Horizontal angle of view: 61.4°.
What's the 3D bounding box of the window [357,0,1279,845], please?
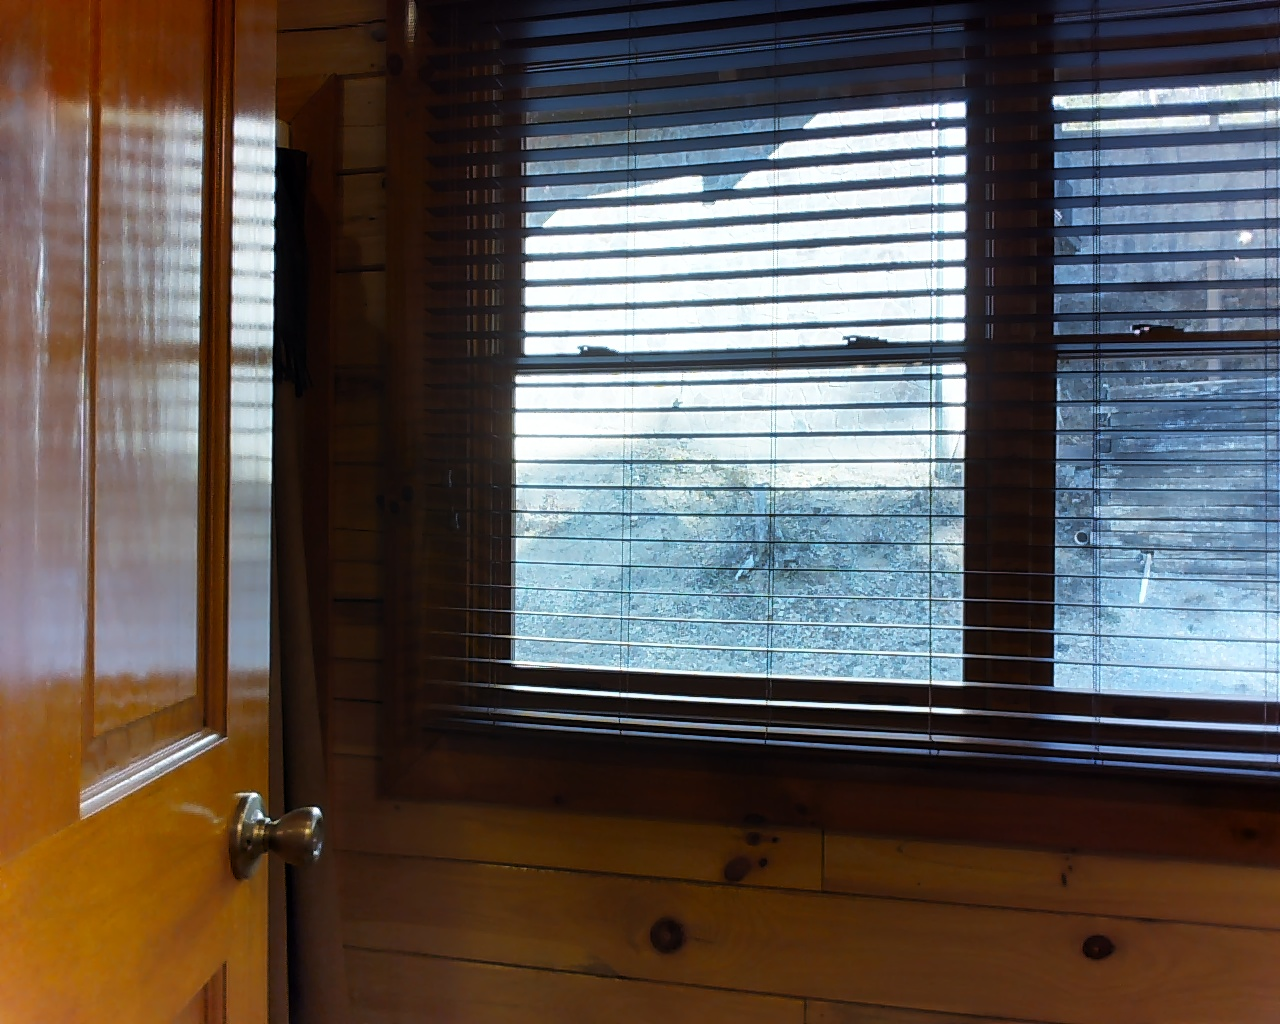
[{"bbox_3d":[0.590,-0.280,1.690,2.169,1.491,0.180,1,0,14],"label":"window"}]
